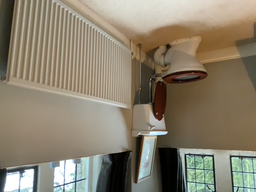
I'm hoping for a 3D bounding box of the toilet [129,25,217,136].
[{"bbox_3d":[0.470,-0.080,2.250,0.730,0.980,0.560,-6,169,30],"label":"toilet"}]
